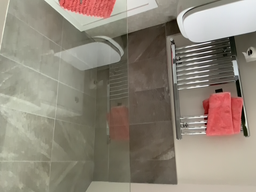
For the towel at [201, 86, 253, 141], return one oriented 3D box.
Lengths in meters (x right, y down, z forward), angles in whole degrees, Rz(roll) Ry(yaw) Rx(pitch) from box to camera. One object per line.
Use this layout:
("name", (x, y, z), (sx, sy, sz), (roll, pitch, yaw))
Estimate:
("towel", (0.690, 0.130, 1.510), (0.280, 0.350, 0.120), (-7, 162, 22))
